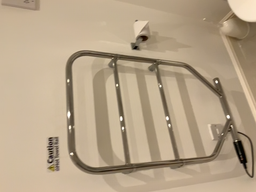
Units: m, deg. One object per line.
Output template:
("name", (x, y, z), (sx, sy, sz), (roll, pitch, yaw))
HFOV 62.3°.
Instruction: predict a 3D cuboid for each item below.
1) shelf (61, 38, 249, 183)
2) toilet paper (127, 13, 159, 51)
("shelf", (0.160, 0.050, 1.070), (0.070, 0.940, 0.610), (135, 132, -56))
("toilet paper", (0.080, -0.350, 1.170), (0.090, 0.120, 0.160), (133, 134, -55))
